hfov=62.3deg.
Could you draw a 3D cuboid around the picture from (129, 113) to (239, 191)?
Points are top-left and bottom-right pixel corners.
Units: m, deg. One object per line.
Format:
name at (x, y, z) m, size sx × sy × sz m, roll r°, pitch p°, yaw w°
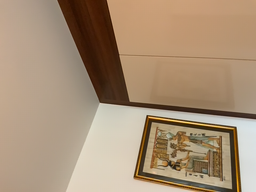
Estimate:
picture at (0.390, 0.390, 1.480) m, size 0.050 × 0.660 × 0.520 m, roll 77°, pitch -157°, yaw -51°
